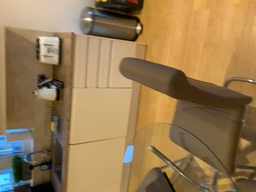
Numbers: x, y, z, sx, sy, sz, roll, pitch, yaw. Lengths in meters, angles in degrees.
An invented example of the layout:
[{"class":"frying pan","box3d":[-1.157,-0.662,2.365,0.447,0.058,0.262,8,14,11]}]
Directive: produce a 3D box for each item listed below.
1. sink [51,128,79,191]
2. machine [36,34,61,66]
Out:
[{"class":"sink","box3d":[-0.760,0.720,2.500,0.460,0.170,0.540,24,112,54]},{"class":"machine","box3d":[-0.840,-0.480,2.220,0.270,0.180,0.280,29,116,53]}]
